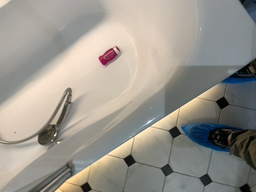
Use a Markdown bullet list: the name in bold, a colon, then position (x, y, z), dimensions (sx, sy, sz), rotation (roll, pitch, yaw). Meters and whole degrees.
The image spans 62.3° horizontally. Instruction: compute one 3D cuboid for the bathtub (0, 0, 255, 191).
- **bathtub**: position (-0.380, -0.060, 0.880), dimensions (1.360, 0.580, 0.750), rotation (-34, 86, 5)
